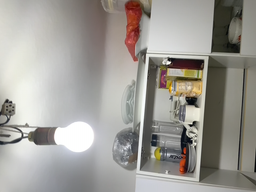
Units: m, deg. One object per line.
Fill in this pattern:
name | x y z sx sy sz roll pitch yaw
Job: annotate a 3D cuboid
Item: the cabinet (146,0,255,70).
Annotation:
cabinet | 0.430 -0.600 1.160 0.320 0.570 0.830 17 -102 -80
